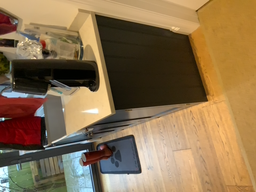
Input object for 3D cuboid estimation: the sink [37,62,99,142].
[{"bbox_3d":[-0.590,0.080,1.980,0.600,0.280,0.570,-29,70,50],"label":"sink"}]
